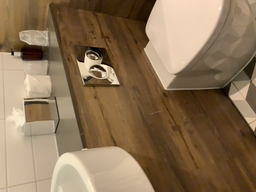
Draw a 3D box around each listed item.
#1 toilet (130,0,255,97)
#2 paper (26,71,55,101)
[{"bbox_3d":[0.360,-0.300,0.980,0.470,0.450,0.380,-57,46,44],"label":"toilet"},{"bbox_3d":[-0.430,-0.050,1.040,0.120,0.110,0.090,-52,49,47],"label":"paper"}]
